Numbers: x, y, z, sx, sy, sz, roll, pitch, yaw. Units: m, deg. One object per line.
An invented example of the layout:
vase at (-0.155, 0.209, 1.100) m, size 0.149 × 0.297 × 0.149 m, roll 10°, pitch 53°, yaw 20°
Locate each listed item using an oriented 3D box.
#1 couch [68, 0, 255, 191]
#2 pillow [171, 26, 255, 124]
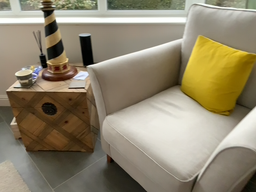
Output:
couch at (0.370, 0.040, 1.200) m, size 0.950 × 0.930 × 0.890 m, roll -24°, pitch 38°, yaw -34°
pillow at (0.490, -0.120, 1.220) m, size 0.200 × 0.350 × 0.420 m, roll -35°, pitch 58°, yaw -21°
